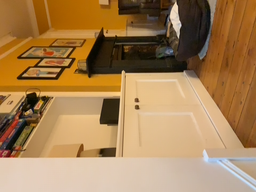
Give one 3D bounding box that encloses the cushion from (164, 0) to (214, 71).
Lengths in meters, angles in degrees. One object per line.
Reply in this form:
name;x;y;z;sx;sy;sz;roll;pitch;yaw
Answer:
cushion;0.560;-0.760;2.120;0.630;0.230;0.810;91;179;-66
